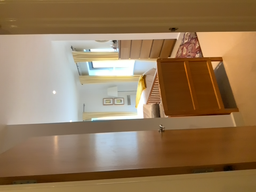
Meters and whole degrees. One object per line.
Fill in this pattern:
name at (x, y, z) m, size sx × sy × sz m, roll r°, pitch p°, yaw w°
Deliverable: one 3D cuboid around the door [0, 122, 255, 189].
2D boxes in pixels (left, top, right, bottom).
door at (0.260, 0.300, 1.380) m, size 1.010 × 2.160 × 0.140 m, roll 137°, pitch 131°, yaw -83°
